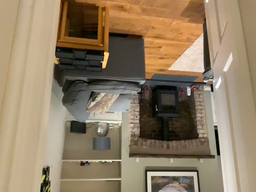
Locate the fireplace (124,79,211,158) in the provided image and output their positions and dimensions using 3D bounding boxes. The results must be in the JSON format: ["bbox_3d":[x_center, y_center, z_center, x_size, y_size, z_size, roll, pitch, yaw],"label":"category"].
[{"bbox_3d":[0.770,0.500,4.410,1.610,1.500,0.540,4,164,-10],"label":"fireplace"}]

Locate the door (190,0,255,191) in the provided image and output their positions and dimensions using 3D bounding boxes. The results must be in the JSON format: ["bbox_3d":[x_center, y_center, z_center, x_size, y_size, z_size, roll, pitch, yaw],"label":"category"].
[{"bbox_3d":[0.550,-0.040,1.360,0.170,2.040,1.080,-4,164,16],"label":"door"}]
